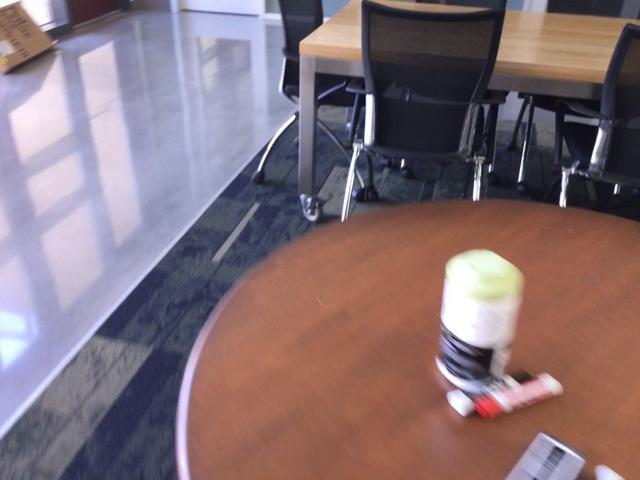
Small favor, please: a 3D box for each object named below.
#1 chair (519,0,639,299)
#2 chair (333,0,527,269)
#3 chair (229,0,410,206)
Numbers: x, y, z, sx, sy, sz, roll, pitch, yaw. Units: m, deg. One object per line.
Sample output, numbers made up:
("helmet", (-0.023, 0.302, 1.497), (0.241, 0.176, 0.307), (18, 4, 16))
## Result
("chair", (1.100, -0.350, 2.080), (0.570, 0.920, 0.590), (9, 35, 13))
("chair", (0.410, -0.470, 2.260), (0.580, 0.930, 0.560), (9, 35, 13))
("chair", (0.040, -0.800, 2.760), (0.630, 0.950, 0.750), (9, 35, 13))
